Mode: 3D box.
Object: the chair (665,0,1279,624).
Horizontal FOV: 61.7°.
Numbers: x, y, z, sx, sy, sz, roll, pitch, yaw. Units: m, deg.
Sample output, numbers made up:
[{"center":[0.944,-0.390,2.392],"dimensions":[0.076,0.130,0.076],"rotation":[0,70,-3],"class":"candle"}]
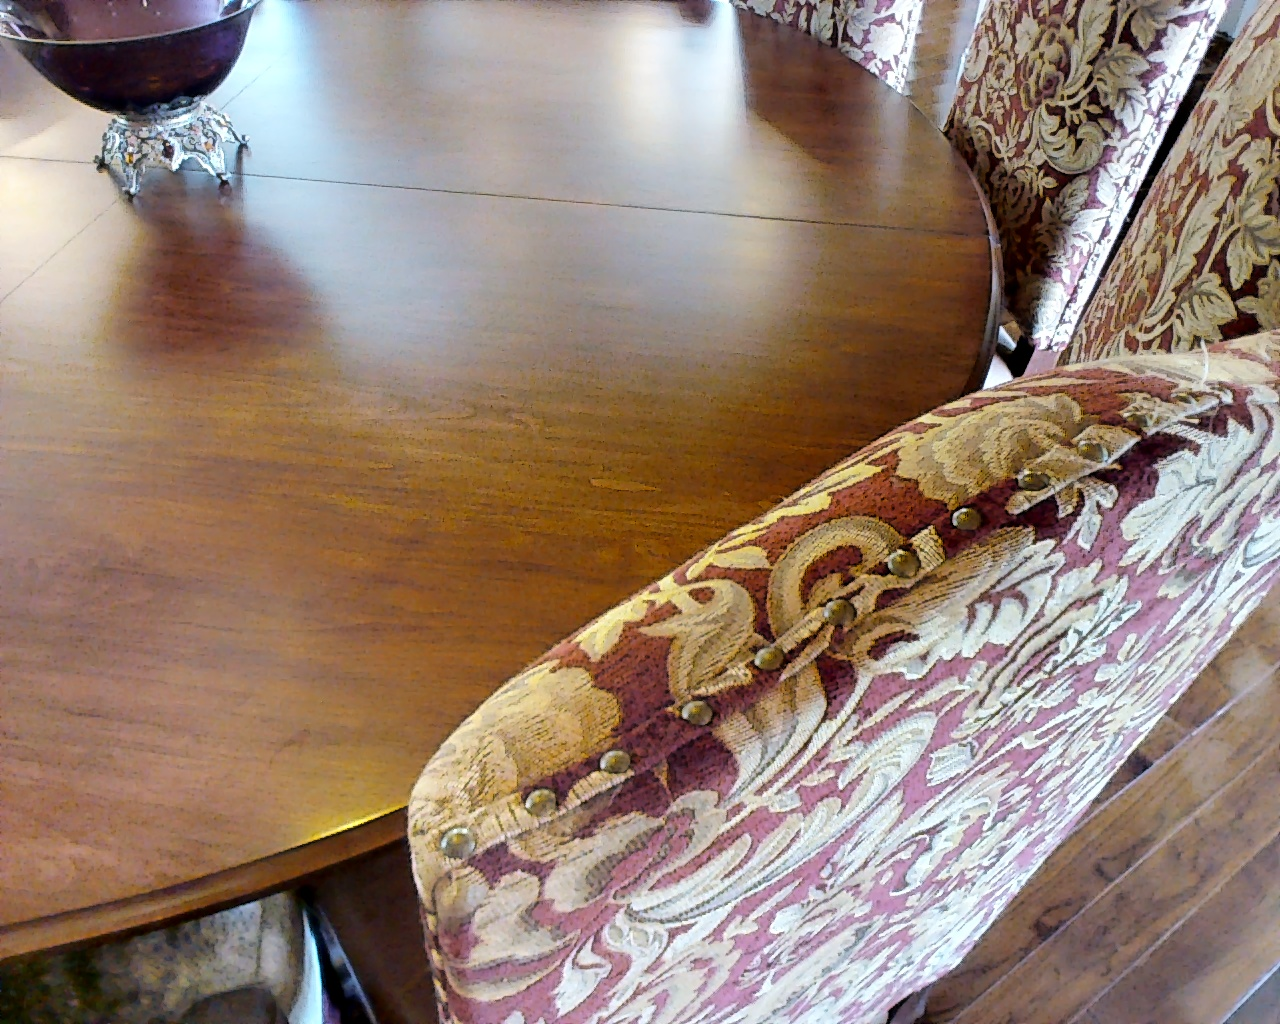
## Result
[{"center":[0.510,-0.550,1.990],"dimensions":[0.780,1.350,0.680],"rotation":[-6,42,-8],"class":"chair"}]
